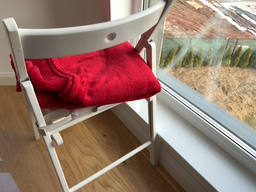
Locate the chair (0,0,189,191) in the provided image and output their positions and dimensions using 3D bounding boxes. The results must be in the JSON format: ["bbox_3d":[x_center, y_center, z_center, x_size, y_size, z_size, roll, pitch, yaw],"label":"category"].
[{"bbox_3d":[-0.170,-0.030,0.870,0.470,0.750,0.480,-26,48,-29],"label":"chair"}]
